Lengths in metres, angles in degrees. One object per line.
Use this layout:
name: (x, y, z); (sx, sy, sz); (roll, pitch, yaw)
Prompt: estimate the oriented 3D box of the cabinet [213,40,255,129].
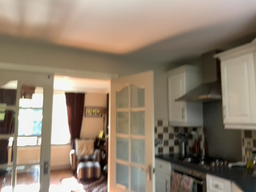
cabinet: (1.260, -0.090, 2.320); (0.370, 0.860, 0.460); (3, -6, -26)
